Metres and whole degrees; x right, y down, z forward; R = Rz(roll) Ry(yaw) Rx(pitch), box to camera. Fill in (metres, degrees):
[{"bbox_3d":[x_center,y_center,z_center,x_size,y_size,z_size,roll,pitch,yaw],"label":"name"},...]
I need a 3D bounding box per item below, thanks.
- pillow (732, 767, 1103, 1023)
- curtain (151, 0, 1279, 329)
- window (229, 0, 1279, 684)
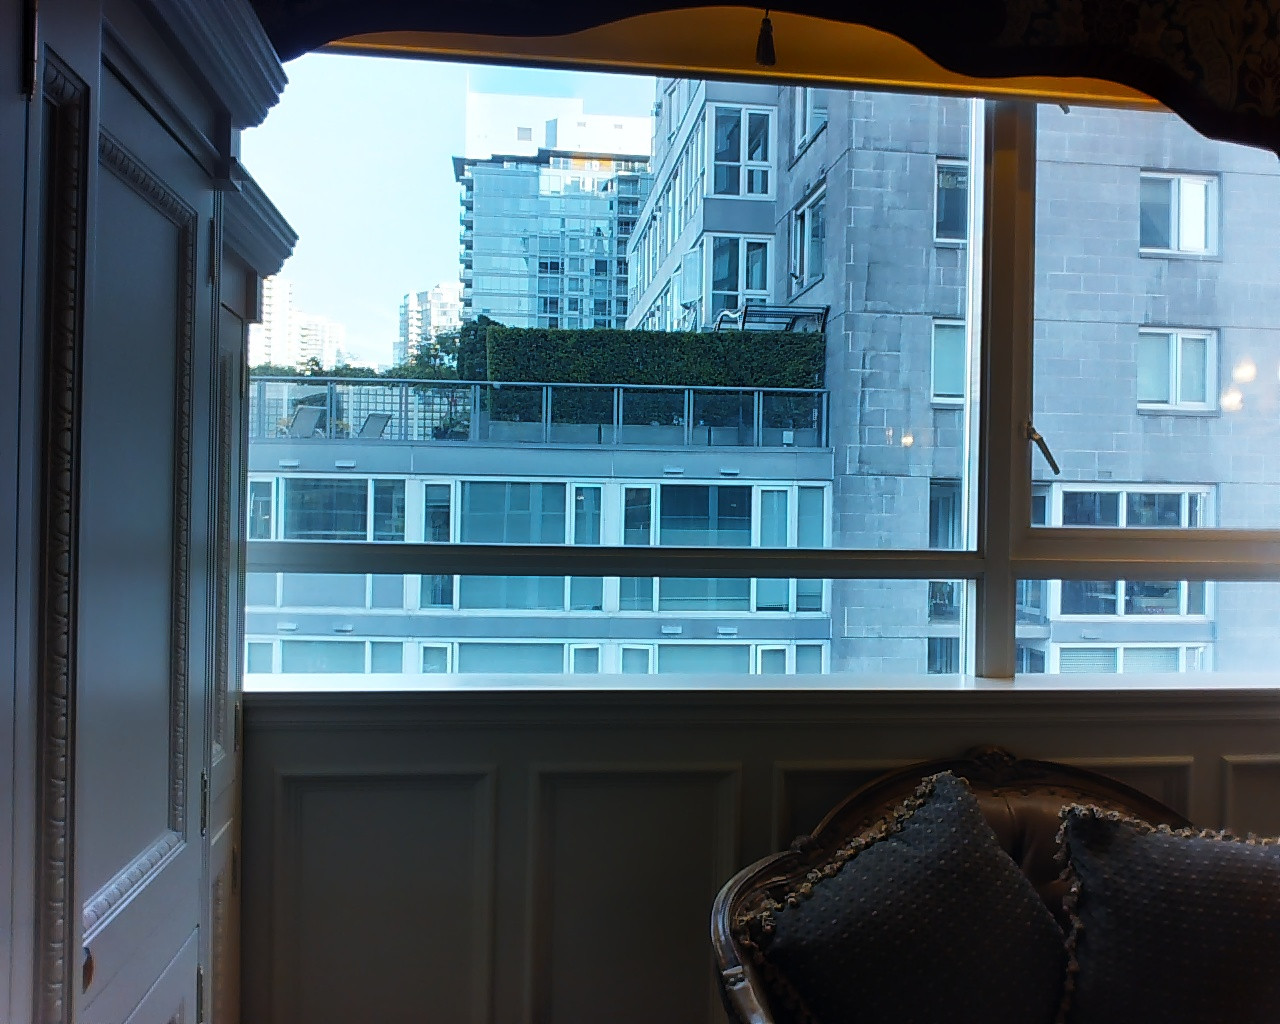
[{"bbox_3d":[0.450,0.730,1.780,0.530,0.530,0.260,1,0,-17],"label":"pillow"},{"bbox_3d":[0.460,-0.850,2.050,2.539,0.870,0.330,1,0,-6],"label":"curtain"},{"bbox_3d":[0.460,-0.450,2.200,2.449,1.580,0.110,1,0,-6],"label":"window"}]
